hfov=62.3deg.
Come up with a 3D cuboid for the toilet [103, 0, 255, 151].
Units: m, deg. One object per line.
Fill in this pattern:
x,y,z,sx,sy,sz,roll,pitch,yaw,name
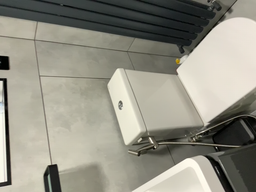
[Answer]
0.410,-0.090,1.100,0.650,0.830,0.390,-53,48,44,toilet
